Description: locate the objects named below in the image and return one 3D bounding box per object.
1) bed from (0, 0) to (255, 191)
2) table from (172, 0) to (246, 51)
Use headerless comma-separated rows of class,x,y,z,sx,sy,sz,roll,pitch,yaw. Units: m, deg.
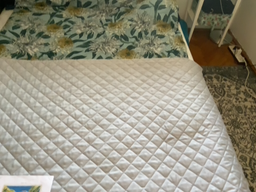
bed,-0.240,-0.110,1.470,1.560,0.510,2.210,0,49,-5
table,0.760,-0.840,2.050,0.460,0.700,0.360,1,49,-4
